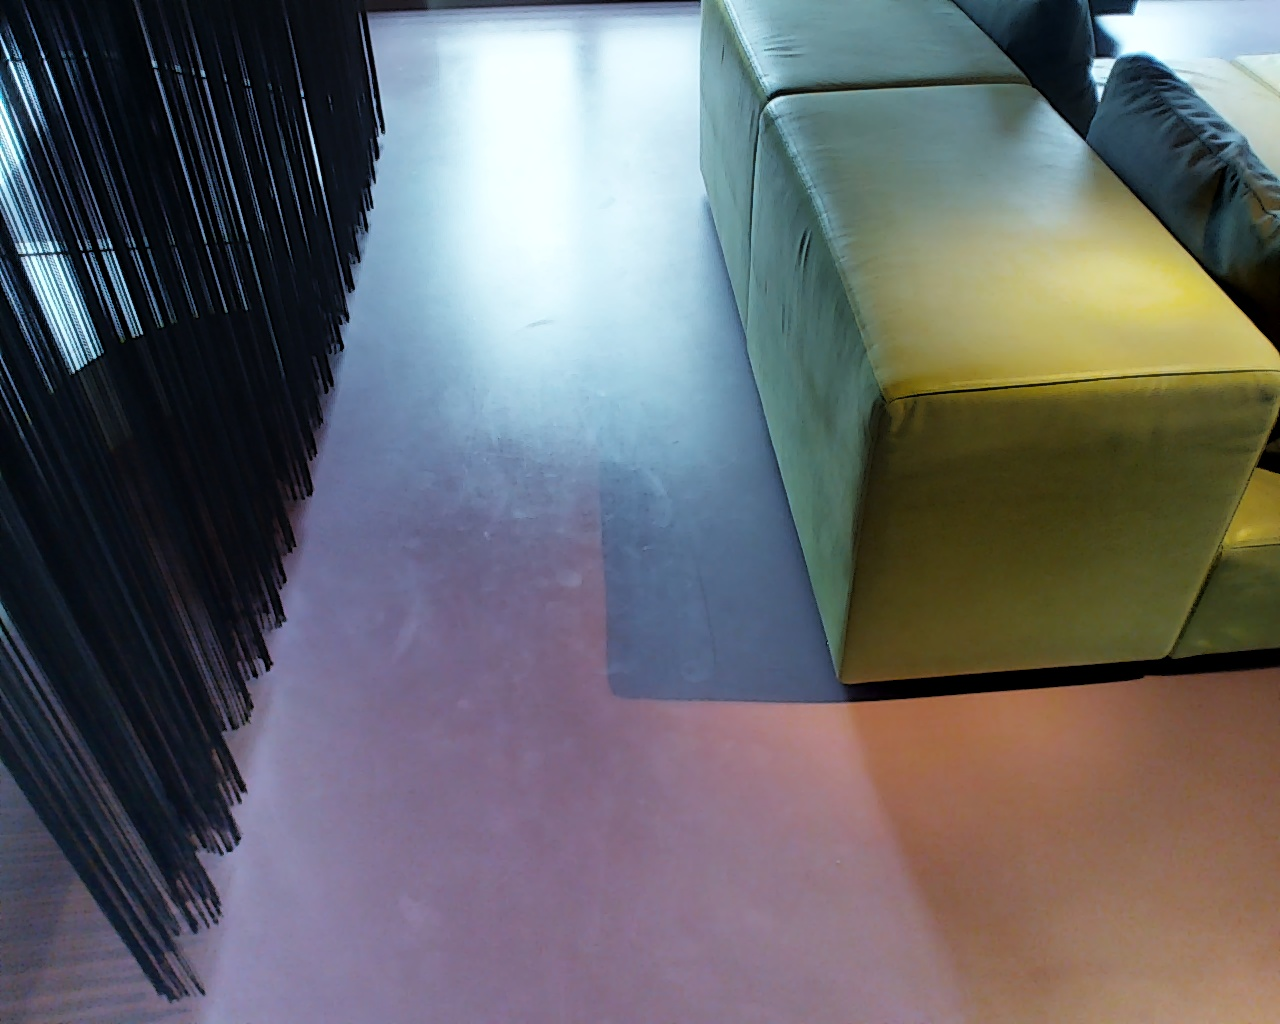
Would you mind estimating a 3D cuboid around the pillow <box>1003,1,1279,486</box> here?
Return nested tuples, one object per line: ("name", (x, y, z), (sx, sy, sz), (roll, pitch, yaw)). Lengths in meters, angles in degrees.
("pillow", (0.920, -0.460, 1.700), (0.350, 0.420, 0.770), (-3, 42, -3))

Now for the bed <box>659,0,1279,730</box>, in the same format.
("bed", (1.300, -0.650, 2.220), (2.340, 0.680, 2.000), (-3, 42, -3))
